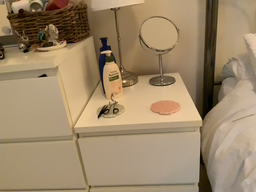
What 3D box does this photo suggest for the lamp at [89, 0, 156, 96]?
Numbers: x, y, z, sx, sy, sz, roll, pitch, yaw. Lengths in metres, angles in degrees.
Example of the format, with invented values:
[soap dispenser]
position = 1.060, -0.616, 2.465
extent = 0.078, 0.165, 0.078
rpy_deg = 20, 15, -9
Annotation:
[lamp]
position = -0.010, -0.290, 0.900
extent = 0.220, 0.530, 0.210
rpy_deg = -4, 24, 7
